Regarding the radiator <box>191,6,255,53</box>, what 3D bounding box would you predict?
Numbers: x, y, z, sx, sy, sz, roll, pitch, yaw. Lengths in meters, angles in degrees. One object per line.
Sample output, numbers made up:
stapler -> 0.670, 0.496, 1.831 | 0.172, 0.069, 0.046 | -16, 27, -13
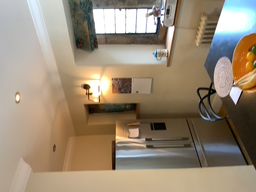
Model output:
radiator -> 1.200, -0.790, 2.550 | 0.220, 0.740, 0.480 | -93, 4, -46

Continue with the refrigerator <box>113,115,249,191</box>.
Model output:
refrigerator -> 0.670, 0.900, 3.320 | 0.870, 1.790, 0.780 | -94, 4, -47
